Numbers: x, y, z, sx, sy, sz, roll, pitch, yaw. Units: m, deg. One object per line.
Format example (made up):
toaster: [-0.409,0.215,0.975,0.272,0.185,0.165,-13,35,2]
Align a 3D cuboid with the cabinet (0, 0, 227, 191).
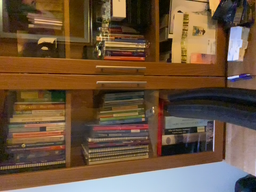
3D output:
cabinet: [-0.100,-0.090,1.040,0.320,1.150,0.910,-173,82,-71]
